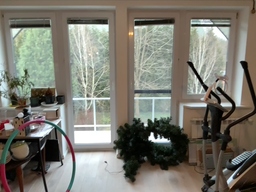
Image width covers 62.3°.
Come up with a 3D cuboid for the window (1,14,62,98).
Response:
[{"bbox_3d":[-1.460,-0.590,3.280,0.760,1.240,0.160,0,12,-1],"label":"window"}]

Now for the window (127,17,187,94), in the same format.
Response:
[{"bbox_3d":[0.440,-0.630,3.390,0.900,1.190,0.110,0,11,-1],"label":"window"}]

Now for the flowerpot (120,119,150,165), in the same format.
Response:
[{"bbox_3d":[0.120,0.720,3.390,0.440,0.610,0.390,1,12,4],"label":"flowerpot"}]
